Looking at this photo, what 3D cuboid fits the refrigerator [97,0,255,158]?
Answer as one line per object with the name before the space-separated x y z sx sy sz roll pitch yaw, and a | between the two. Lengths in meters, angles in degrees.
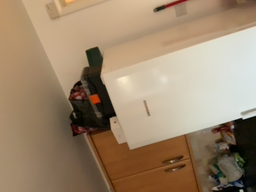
refrigerator | 0.750 -0.260 1.500 0.700 1.780 0.590 -99 -9 -68
